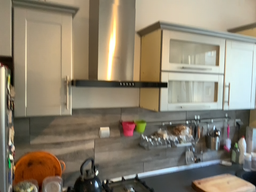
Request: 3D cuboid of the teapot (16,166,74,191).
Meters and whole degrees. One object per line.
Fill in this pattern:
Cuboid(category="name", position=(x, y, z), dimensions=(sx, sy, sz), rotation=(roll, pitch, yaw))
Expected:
Cuboid(category="teapot", position=(-0.500, 0.600, 1.250), dimensions=(0.280, 0.180, 0.410), rotation=(0, 4, -28))

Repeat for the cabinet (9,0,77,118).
Cuboid(category="cabinet", position=(-0.510, -0.210, 1.270), dimensions=(0.330, 0.620, 0.310), rotation=(0, 4, -26))
